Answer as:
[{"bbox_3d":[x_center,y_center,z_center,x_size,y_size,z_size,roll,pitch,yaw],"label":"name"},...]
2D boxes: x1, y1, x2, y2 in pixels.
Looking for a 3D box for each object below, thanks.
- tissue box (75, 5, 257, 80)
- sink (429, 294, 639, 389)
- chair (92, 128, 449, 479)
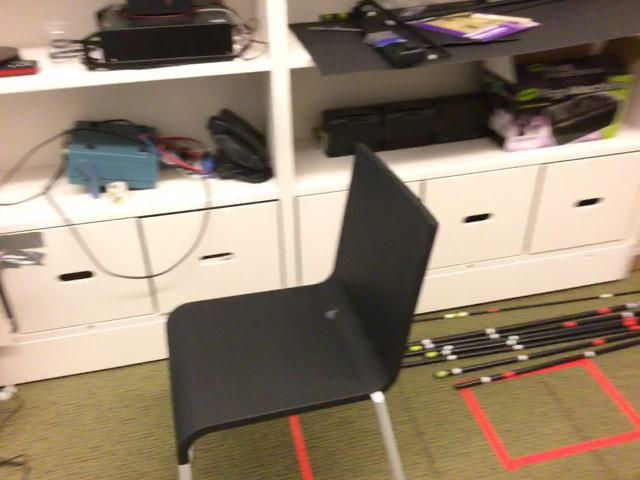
[{"bbox_3d":[-0.390,-0.520,1.490,0.400,0.080,0.350,-10,31,-10],"label":"tissue box"},{"bbox_3d":[0.910,0.280,1.860,1.110,0.030,0.190,-10,31,-10],"label":"sink"},{"bbox_3d":[-0.090,0.240,1.290,0.560,0.780,0.480,-10,31,-10],"label":"chair"}]
